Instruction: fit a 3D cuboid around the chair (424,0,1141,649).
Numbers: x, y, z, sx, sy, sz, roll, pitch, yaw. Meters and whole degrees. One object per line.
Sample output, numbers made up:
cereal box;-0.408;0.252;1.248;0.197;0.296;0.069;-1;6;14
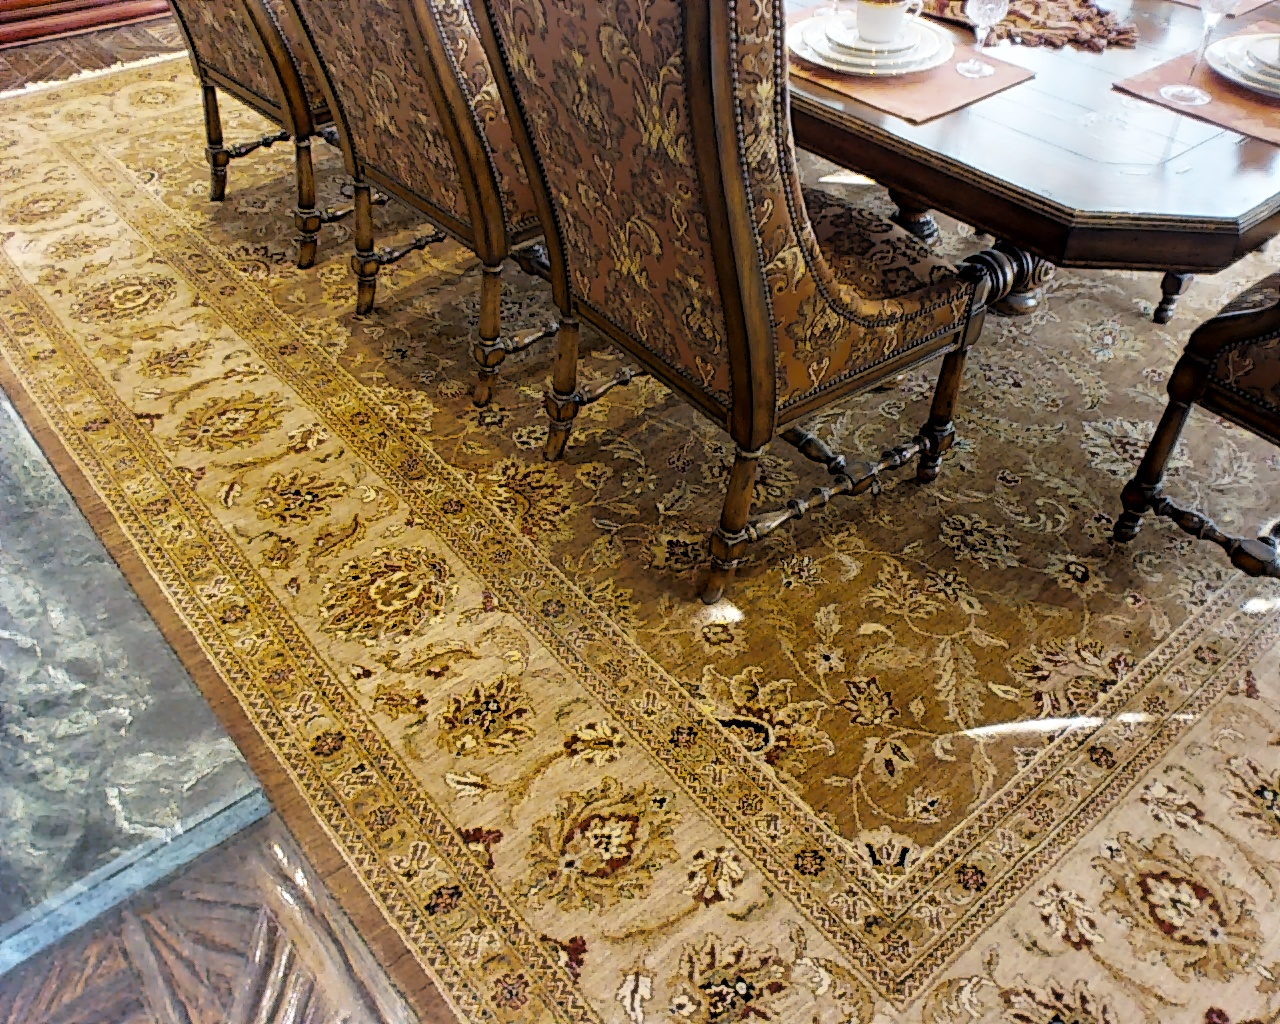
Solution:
chair;0.230;-0.570;1.850;0.900;1.190;0.670;-30;51;-29

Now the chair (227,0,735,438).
chair;-0.330;-0.950;2.250;0.760;1.200;0.710;-30;51;-29
